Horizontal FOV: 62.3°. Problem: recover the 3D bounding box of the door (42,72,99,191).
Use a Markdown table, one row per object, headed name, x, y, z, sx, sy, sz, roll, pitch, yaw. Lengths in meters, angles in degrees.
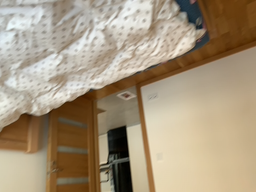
| name | x | y | z | sx | sy | sz | roll | pitch | yaw |
| --- | --- | --- | --- | --- | --- | --- | --- | --- | --- |
| door | -0.720 | 0.810 | 2.790 | 0.080 | 2.180 | 0.880 | -18 | 155 | 26 |
